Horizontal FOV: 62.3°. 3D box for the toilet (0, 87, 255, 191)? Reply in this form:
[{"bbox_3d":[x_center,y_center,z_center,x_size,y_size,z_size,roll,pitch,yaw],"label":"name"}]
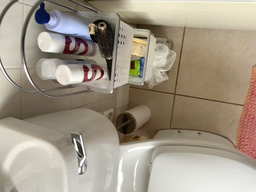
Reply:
[{"bbox_3d":[0.150,0.310,0.750,0.720,0.790,0.510,10,102,21],"label":"toilet"}]
